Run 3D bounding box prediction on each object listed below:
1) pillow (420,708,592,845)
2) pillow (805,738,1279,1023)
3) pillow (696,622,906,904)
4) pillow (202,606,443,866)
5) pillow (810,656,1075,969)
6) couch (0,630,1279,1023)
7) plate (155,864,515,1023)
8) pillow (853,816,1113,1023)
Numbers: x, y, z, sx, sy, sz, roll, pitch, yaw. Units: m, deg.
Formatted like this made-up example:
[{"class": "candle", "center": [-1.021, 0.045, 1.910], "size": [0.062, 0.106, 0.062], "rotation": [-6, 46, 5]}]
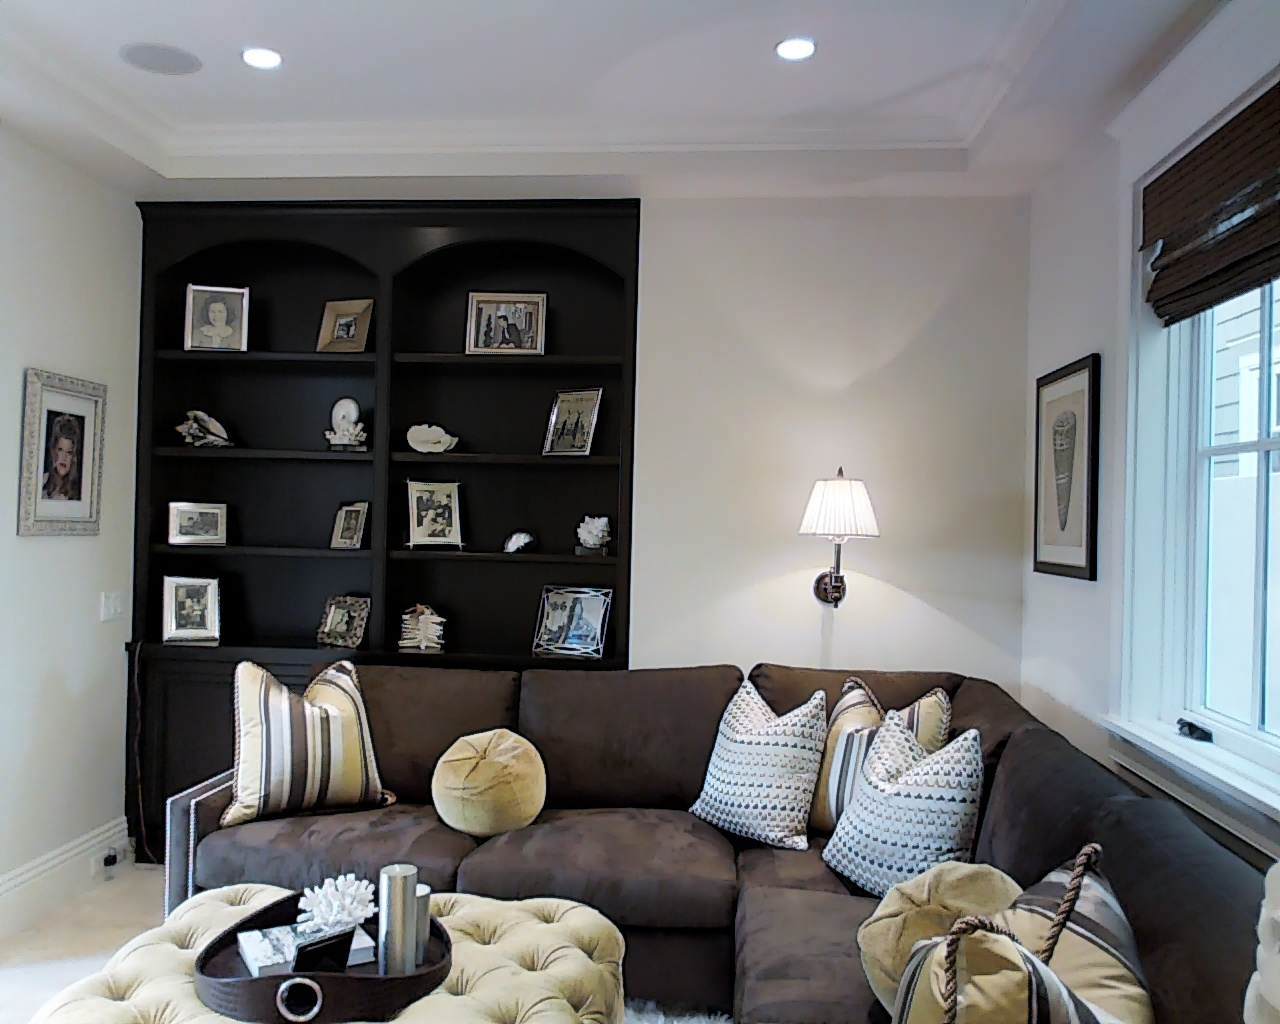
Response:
[{"class": "pillow", "center": [-0.430, 0.890, 3.590], "size": [0.470, 0.430, 0.290], "rotation": [2, 56, 5]}, {"class": "pillow", "center": [0.610, 0.790, 1.600], "size": [0.590, 0.650, 0.440], "rotation": [-10, 16, -38]}, {"class": "pillow", "center": [0.500, 0.800, 3.500], "size": [0.350, 0.600, 0.580], "rotation": [-20, 35, -29]}, {"class": "pillow", "center": [-1.070, 0.740, 3.650], "size": [0.570, 0.570, 0.410], "rotation": [-22, 28, -31]}, {"class": "pillow", "center": [0.830, 0.820, 3.050], "size": [0.370, 0.550, 0.600], "rotation": [-11, 23, -27]}, {"class": "couch", "center": [-0.080, 1.000, 2.820], "size": [2.899, 0.980, 2.910], "rotation": [1, 0, 5]}, {"class": "plate", "center": [-0.620, 0.930, 2.340], "size": [0.580, 0.100, 0.600], "rotation": [1, 0, 5]}, {"class": "pillow", "center": [0.680, 0.890, 2.220], "size": [0.420, 0.370, 0.470], "rotation": [1, 0, 6]}]
